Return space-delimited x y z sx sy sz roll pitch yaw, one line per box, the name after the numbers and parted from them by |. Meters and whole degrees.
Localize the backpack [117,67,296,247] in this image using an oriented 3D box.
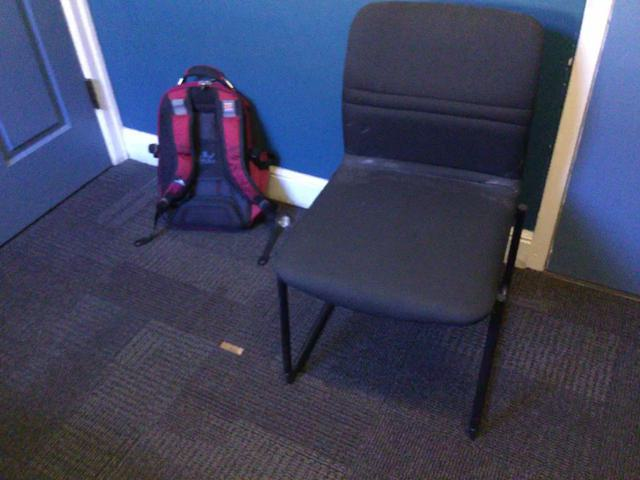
-0.400 -0.300 2.020 0.500 0.500 0.270 14 15 19 | backpack

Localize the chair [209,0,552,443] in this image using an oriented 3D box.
0.190 -0.070 1.370 0.510 0.800 0.590 10 41 21 | chair
